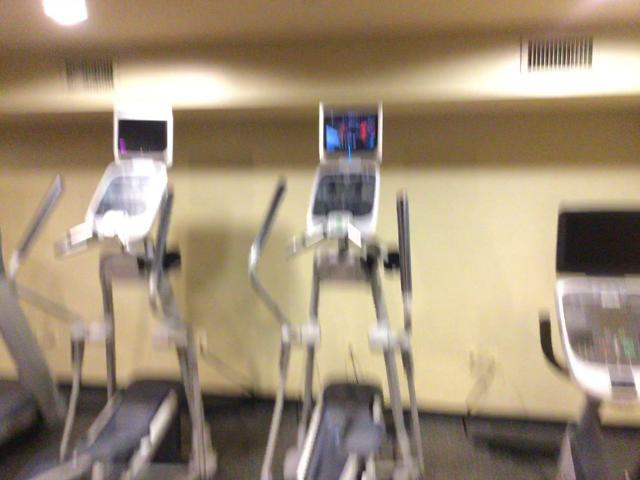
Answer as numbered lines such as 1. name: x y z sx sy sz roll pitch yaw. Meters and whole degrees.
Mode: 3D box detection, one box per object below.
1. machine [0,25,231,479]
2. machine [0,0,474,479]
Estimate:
1. machine: -1.040 0.330 2.050 0.810 1.830 1.980 0 9 8
2. machine: -0.040 0.410 1.940 0.920 1.860 1.950 0 7 10
